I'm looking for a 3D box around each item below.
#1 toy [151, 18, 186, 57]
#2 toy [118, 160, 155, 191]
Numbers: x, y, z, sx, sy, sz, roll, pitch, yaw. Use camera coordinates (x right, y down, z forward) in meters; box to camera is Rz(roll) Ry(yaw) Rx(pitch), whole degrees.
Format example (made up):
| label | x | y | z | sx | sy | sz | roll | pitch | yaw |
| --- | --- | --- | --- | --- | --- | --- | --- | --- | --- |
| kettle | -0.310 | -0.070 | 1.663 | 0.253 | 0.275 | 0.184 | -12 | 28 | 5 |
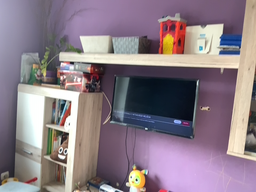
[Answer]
| label | x | y | z | sx | sy | sz | roll | pitch | yaw |
| --- | --- | --- | --- | --- | --- | --- | --- | --- | --- |
| toy | 0.320 | -0.460 | 1.690 | 0.230 | 0.280 | 0.090 | 8 | 6 | 29 |
| toy | 0.070 | 0.740 | 1.870 | 0.280 | 0.240 | 0.130 | 9 | 7 | 33 |
